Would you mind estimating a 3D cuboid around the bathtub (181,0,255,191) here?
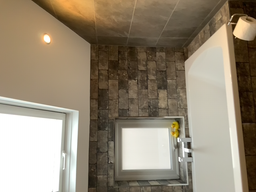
[{"bbox_3d":[0.900,0.490,1.710,0.810,0.560,2.230,121,149,-78],"label":"bathtub"}]
